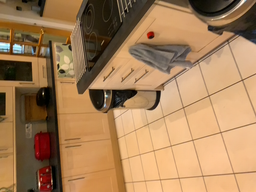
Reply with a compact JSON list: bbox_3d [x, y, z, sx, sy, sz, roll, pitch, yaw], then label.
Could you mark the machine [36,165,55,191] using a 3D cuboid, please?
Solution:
[{"bbox_3d":[-1.060,1.050,2.700,0.280,0.170,0.280,-36,59,53],"label":"machine"}]
